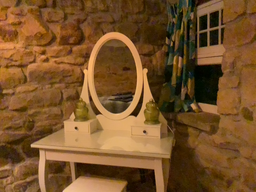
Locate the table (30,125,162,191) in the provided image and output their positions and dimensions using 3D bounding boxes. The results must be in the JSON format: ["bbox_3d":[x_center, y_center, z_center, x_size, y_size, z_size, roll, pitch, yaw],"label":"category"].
[{"bbox_3d":[-0.190,0.680,1.770,0.920,0.740,0.580,-1,7,10],"label":"table"}]
